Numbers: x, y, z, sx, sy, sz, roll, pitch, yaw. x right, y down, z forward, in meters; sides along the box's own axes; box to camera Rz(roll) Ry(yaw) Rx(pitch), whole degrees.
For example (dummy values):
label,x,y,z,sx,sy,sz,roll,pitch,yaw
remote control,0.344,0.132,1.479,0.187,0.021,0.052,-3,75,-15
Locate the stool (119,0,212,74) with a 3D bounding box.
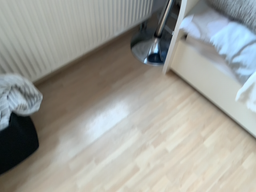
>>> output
label,x,y,z,sx,sy,sz,roll,pitch,yaw
stool,0.240,-0.560,1.370,0.480,0.640,0.330,-35,67,-22
